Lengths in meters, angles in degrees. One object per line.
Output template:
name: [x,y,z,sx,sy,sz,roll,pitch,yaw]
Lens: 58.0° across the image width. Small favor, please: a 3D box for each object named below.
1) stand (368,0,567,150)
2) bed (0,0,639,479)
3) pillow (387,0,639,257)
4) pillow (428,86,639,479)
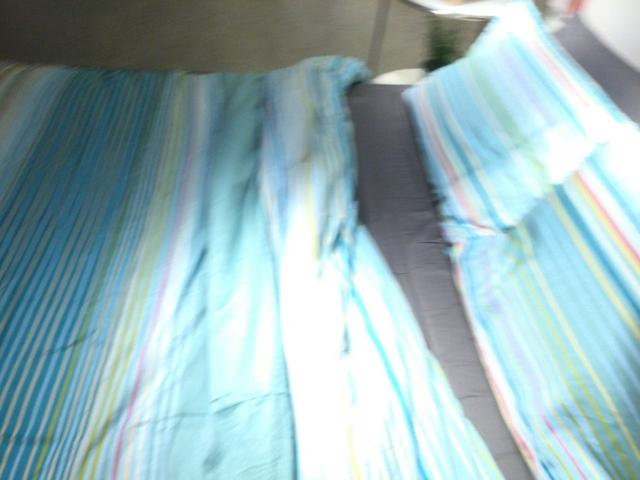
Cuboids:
stand: [0.490,-0.730,2.140,0.540,0.580,0.510,-3,41,-2]
bed: [-0.170,-0.070,1.240,2.210,0.960,1.680,-3,41,-2]
pillow: [0.430,-0.360,1.430,0.160,0.720,0.430,35,-60,-29]
pillow: [0.470,0.120,0.910,0.430,0.690,0.200,-37,-56,25]
